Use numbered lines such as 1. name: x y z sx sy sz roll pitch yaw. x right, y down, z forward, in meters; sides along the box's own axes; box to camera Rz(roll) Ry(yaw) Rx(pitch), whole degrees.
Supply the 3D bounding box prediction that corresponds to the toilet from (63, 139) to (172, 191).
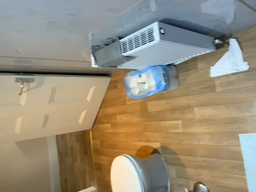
1. toilet: -0.040 0.790 1.780 0.360 0.840 0.680 -9 86 46
